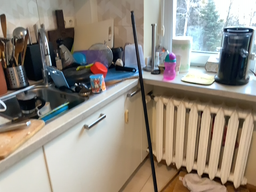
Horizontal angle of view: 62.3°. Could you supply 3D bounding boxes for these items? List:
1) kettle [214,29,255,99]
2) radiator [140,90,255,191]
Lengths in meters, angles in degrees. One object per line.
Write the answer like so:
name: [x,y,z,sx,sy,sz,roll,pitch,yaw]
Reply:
kettle: [0.640,-0.200,1.270,0.160,0.360,0.200,12,27,27]
radiator: [0.540,0.370,1.580,0.910,0.660,0.190,11,27,27]
